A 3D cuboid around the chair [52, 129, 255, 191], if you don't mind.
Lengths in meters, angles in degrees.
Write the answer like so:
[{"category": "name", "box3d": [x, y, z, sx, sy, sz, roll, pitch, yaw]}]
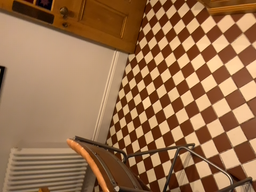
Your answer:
[{"category": "chair", "box3d": [0.180, 0.500, 1.060, 0.430, 0.980, 0.490, 25, 102, 52]}]
